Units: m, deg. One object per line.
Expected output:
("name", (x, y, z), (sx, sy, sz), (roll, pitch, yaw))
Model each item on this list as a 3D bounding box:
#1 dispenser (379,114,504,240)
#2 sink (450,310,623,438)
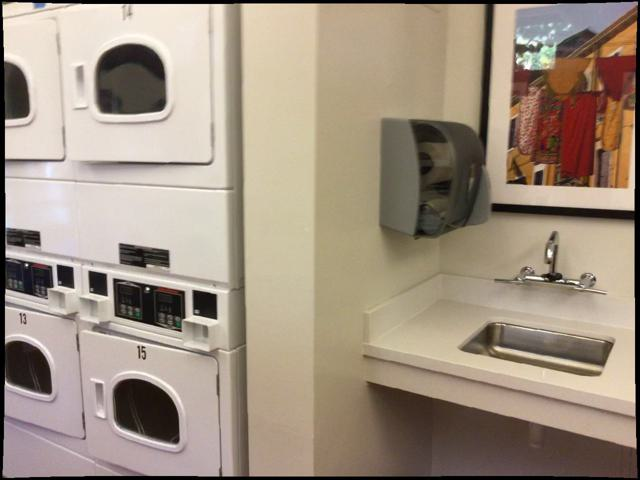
("dispenser", (0.390, -0.210, 1.830), (0.260, 0.350, 0.370), (6, 12, 34))
("sink", (0.669, 0.380, 1.770), (0.400, 0.170, 0.430), (6, 12, 33))
